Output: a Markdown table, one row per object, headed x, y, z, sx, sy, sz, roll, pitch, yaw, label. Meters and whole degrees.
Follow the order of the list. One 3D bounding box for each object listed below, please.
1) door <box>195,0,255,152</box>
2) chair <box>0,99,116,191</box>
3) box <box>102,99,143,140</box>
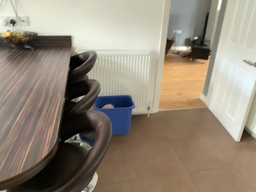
| x | y | z | sx | sy | sz | roll | pitch | yaw | label |
| --- | --- | --- | --- | --- | --- | --- | --- | --- | --- |
| 1.120 | -0.500 | 2.210 | 0.080 | 2.060 | 0.820 | -2 | 26 | -11 | door |
| -0.330 | 0.540 | 1.130 | 0.430 | 0.890 | 0.530 | -3 | 26 | -12 | chair |
| -0.080 | 0.250 | 2.350 | 0.390 | 0.320 | 0.300 | -3 | 26 | -13 | box |
